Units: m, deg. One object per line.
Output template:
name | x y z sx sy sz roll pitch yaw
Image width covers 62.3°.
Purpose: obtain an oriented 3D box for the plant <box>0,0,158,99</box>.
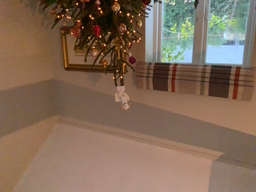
plant | -0.380 -1.050 1.450 0.940 1.870 0.920 7 -162 25
